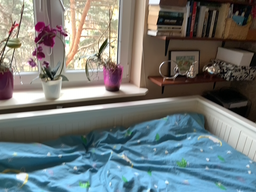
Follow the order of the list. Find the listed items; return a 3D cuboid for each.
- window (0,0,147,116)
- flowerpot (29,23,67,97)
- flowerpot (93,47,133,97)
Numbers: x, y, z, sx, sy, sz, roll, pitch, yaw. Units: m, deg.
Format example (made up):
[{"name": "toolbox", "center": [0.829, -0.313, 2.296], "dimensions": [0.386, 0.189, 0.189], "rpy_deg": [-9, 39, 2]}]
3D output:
[{"name": "window", "center": [-0.580, -0.630, 1.230], "dimensions": [1.510, 1.490, 0.200], "rpy_deg": [-6, 23, -27]}, {"name": "flowerpot", "center": [-0.530, -0.240, 1.420], "dimensions": [0.200, 0.460, 0.110], "rpy_deg": [-6, 23, -27]}, {"name": "flowerpot", "center": [-0.120, -0.190, 1.610], "dimensions": [0.220, 0.330, 0.200], "rpy_deg": [-7, 23, -29]}]
